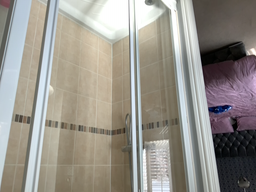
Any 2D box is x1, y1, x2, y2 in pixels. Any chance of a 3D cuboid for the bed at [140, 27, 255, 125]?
[{"bbox_3d":[1.560,-0.060,3.590,1.640,0.550,2.300,-16,156,37],"label":"bed"}]
